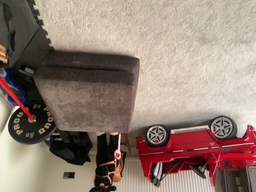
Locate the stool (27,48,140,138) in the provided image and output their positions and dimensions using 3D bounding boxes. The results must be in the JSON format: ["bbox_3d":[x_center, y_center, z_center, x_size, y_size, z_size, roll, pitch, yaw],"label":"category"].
[{"bbox_3d":[-0.280,0.020,1.700,0.690,0.320,0.750,2,146,0],"label":"stool"}]

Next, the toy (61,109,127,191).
[{"bbox_3d":[-0.280,0.720,2.340,0.490,0.740,0.990,0,146,3],"label":"toy"}]
